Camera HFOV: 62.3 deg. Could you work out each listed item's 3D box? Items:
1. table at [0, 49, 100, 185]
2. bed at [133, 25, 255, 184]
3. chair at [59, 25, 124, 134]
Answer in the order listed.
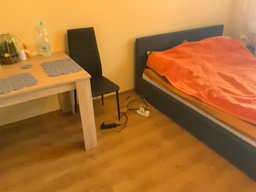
[{"bbox_3d":[-1.000,0.140,1.940,1.200,0.780,0.810,-16,33,-27],"label":"table"},{"bbox_3d":[1.370,-0.170,2.480,1.730,0.780,2.180,-16,33,-27],"label":"bed"},{"bbox_3d":[-0.380,-0.200,2.340,0.450,0.990,0.550,-17,33,-28],"label":"chair"}]
